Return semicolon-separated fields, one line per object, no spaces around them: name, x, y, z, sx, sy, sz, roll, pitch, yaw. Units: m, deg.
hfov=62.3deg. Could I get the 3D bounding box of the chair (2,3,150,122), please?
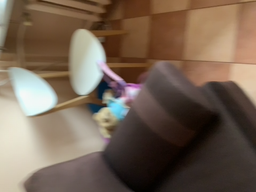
chair;-0.370;-0.210;1.550;0.520;0.800;0.480;-46;62;38
